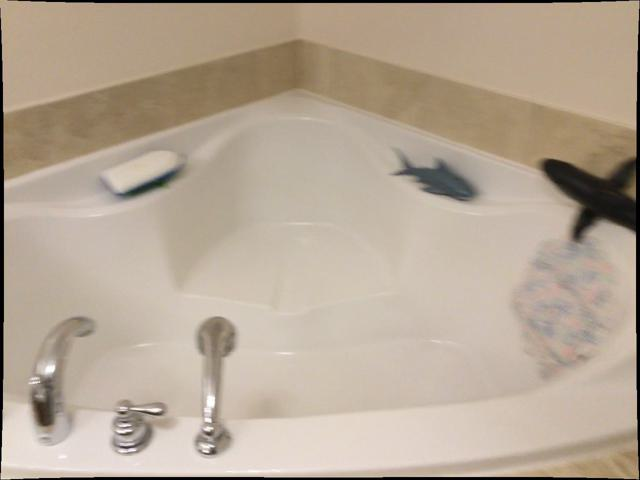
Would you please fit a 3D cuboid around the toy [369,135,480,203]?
[{"bbox_3d":[0.280,-0.200,1.580,0.290,0.070,0.100,28,43,35],"label":"toy"}]

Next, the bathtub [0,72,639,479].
[{"bbox_3d":[-0.070,0.170,1.400,2.008,0.700,1.440,-1,34,-2],"label":"bathtub"}]

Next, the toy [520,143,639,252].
[{"bbox_3d":[0.679,-0.070,1.240,0.440,0.110,0.150,28,43,35],"label":"toy"}]
